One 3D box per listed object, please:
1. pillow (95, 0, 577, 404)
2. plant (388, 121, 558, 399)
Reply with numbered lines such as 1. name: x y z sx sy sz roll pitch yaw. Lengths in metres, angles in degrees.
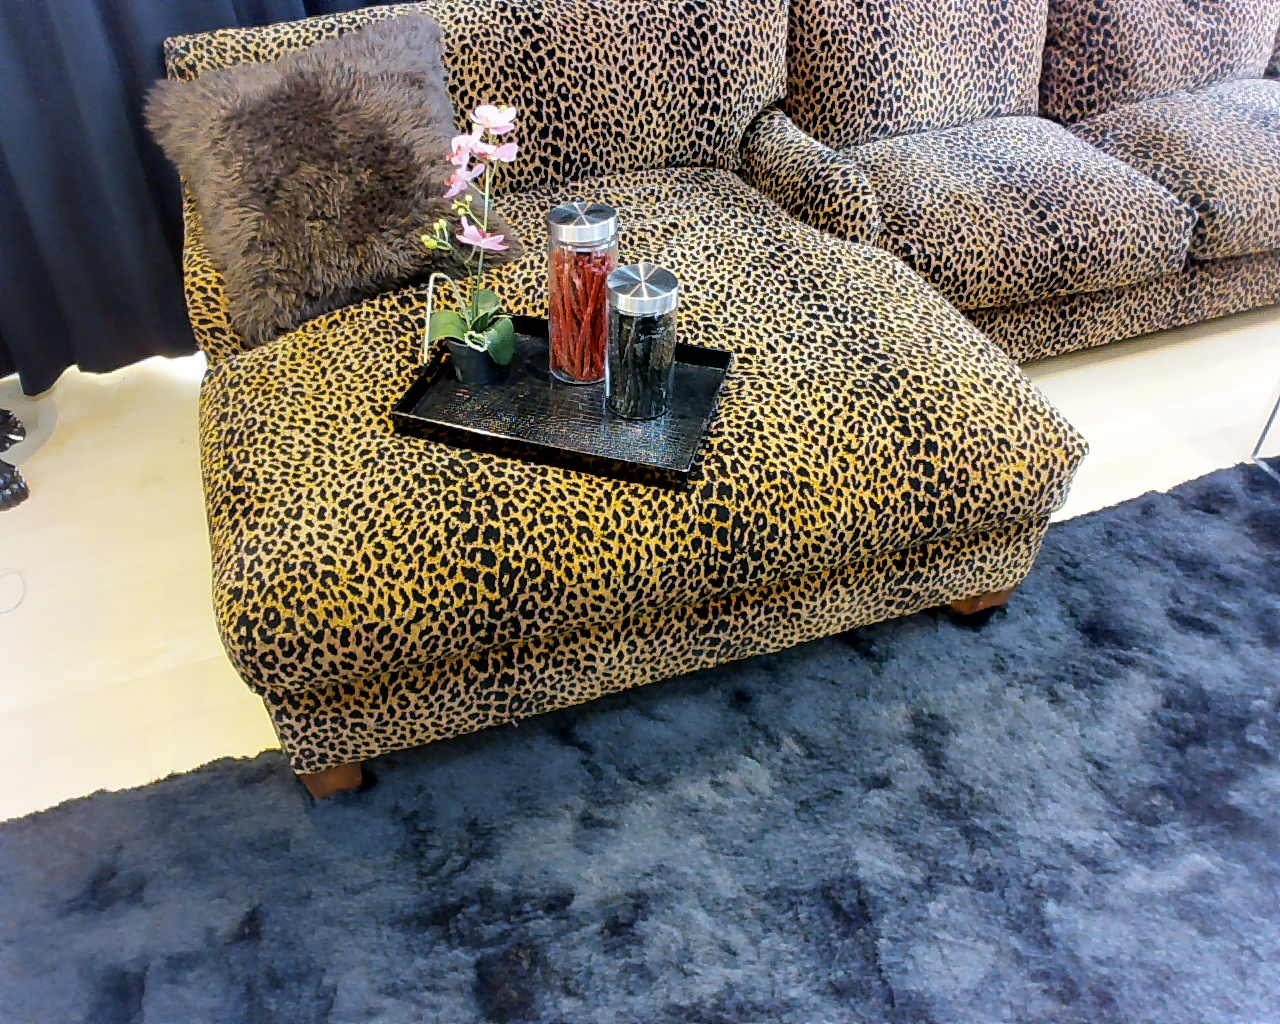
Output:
1. pillow: -0.570 -0.640 2.050 0.630 0.570 0.290 34 14 -40
2. plant: -0.260 -0.410 1.770 0.180 0.370 0.210 10 43 10
